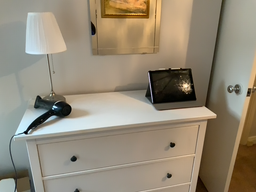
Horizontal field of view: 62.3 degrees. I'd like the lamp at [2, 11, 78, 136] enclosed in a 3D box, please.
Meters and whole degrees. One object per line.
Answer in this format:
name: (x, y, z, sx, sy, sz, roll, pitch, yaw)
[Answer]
lamp: (-0.500, -0.150, 1.230, 0.290, 0.630, 0.310, -11, 25, -28)
